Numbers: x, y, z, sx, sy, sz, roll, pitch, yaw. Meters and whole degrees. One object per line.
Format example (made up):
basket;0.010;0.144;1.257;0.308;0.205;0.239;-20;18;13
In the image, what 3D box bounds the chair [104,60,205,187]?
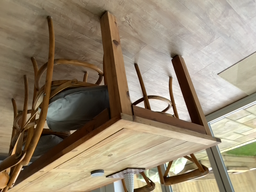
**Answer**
chair;0.180;0.250;1.830;0.500;0.890;0.470;17;141;-39
